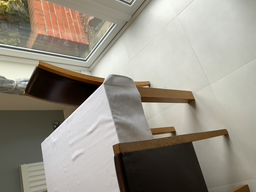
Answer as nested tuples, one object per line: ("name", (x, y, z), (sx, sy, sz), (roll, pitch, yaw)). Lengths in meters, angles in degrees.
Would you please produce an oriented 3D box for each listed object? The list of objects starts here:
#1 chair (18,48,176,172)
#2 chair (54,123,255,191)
("chair", (-0.210, 0.110, 1.520), (0.470, 0.900, 0.570), (-38, 61, 41))
("chair", (0.180, 0.430, 1.080), (0.540, 0.880, 0.390), (-32, 65, 43))
